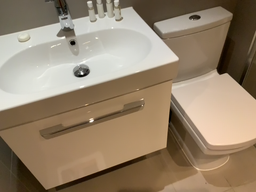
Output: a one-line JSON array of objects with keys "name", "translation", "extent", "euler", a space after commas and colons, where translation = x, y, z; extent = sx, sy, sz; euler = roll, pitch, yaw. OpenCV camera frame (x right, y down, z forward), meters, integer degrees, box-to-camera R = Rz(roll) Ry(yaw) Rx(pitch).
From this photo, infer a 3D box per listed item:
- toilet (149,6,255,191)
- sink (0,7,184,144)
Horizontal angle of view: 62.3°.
[{"name": "toilet", "translation": [0.430, 0.030, 1.180], "extent": [0.410, 0.760, 0.590], "euler": [-17, 46, -12]}, {"name": "sink", "translation": [-0.190, -0.130, 0.830], "extent": [0.640, 0.140, 0.450], "euler": [-16, 46, -11]}]
